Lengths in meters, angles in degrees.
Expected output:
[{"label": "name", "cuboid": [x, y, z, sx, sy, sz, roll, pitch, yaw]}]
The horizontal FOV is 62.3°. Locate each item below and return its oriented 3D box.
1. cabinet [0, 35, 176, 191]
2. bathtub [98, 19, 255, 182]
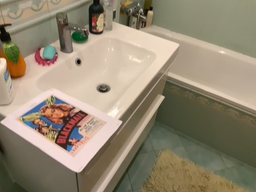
[{"label": "cabinet", "cuboid": [-0.190, 0.170, 1.150, 0.470, 0.610, 0.840, 27, 45, 18]}, {"label": "bathtub", "cuboid": [0.620, -0.020, 1.790, 1.650, 0.560, 0.680, 27, 45, 18]}]
